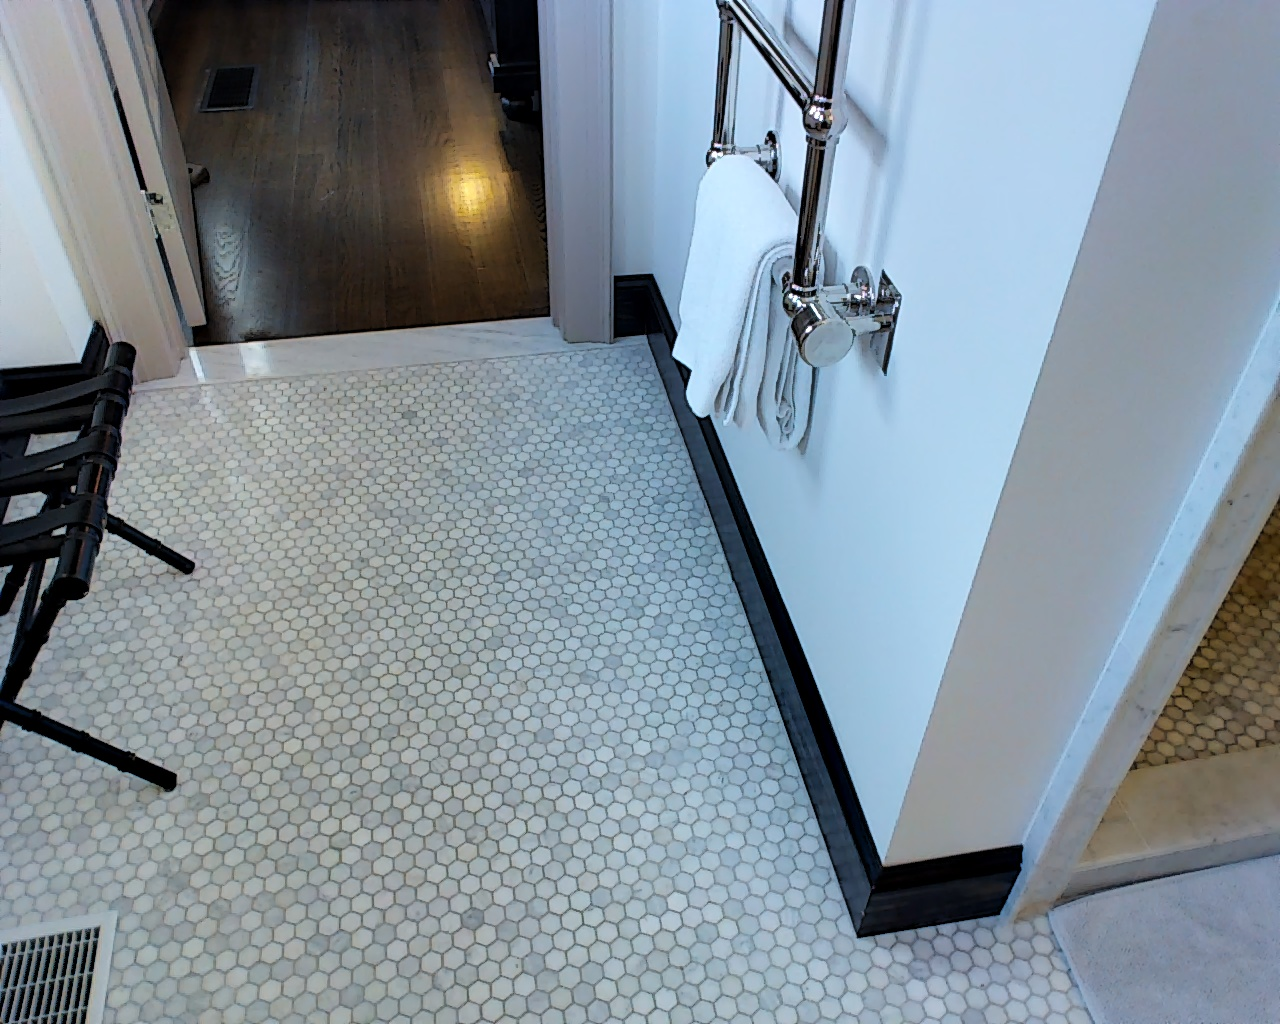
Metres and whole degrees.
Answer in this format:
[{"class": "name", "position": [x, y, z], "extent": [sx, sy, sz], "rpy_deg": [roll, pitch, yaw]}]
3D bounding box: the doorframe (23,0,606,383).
[{"class": "doorframe", "position": [-0.610, -1.300, 1.870], "extent": [1.080, 2.400, 0.130], "rpy_deg": [-7, 43, -9]}]
